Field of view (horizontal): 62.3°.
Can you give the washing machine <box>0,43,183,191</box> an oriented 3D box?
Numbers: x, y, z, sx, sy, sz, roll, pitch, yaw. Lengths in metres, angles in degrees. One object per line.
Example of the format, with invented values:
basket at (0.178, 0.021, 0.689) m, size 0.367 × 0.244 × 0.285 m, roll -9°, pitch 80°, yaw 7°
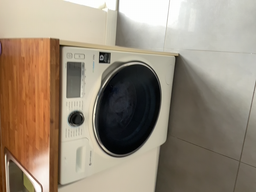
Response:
washing machine at (-0.210, 0.010, 1.330) m, size 0.670 × 0.890 × 0.580 m, roll 15°, pitch 105°, yaw 41°
